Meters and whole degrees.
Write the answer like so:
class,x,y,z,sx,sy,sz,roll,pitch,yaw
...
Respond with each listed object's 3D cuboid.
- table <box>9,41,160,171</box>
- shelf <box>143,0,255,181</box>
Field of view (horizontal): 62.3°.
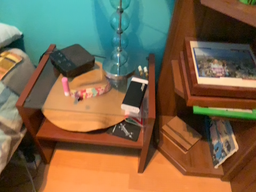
class,x,y,z,sx,sy,sz,roll,pitch,yaw
table,-0.140,0.050,0.940,0.480,0.400,0.360,5,47,0
shelf,0.340,-0.580,0.230,0.340,2.350,0.380,8,47,3
